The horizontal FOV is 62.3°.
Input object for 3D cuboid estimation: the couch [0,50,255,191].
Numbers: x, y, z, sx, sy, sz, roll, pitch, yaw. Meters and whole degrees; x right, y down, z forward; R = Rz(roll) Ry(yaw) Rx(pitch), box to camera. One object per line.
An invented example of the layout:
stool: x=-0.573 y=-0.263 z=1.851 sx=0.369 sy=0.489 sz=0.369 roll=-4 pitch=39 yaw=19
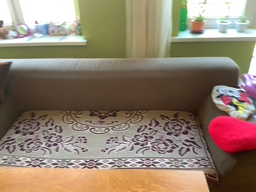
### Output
couch: x=-0.210 y=0.190 z=1.790 sx=2.260 sy=0.770 sz=1.110 roll=0 pitch=32 yaw=3
